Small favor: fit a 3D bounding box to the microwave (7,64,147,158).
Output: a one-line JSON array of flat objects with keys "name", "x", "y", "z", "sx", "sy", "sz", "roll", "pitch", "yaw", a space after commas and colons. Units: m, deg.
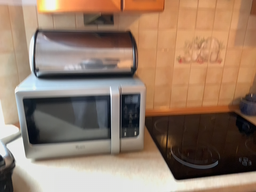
[{"name": "microwave", "x": -0.190, "y": 0.030, "z": 0.930, "sx": 0.460, "sy": 0.270, "sz": 0.370, "roll": -1, "pitch": 20, "yaw": -8}]
